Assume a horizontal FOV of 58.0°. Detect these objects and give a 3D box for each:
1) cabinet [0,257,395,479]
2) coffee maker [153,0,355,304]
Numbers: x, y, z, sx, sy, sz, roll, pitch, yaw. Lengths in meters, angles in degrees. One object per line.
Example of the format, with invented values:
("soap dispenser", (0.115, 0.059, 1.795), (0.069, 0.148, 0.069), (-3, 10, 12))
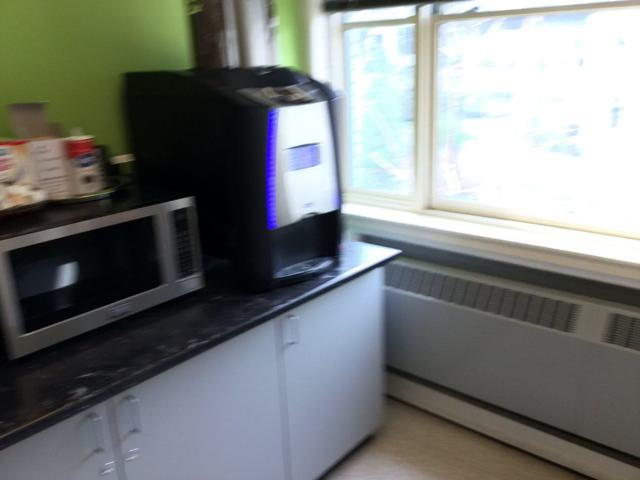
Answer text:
("cabinet", (-0.320, 0.670, 1.740), (0.140, 0.800, 1.830), (8, 18, 38))
("coffee maker", (-0.180, -0.360, 1.860), (0.310, 0.980, 0.510), (8, 18, 38))
